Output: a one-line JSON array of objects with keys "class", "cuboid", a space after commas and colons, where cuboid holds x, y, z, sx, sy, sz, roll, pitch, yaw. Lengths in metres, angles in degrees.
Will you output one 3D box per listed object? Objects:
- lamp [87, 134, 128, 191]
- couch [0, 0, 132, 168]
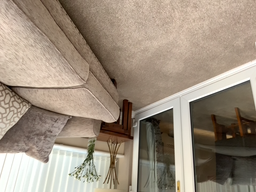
[{"class": "lamp", "cuboid": [-0.250, 0.920, 2.520, 0.280, 0.820, 0.400, 17, 153, -28]}, {"class": "couch", "cuboid": [-0.770, -0.030, 1.590, 1.120, 0.840, 1.790, -4, 155, 16]}]
